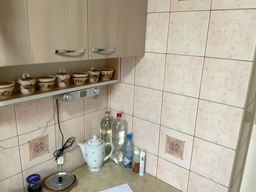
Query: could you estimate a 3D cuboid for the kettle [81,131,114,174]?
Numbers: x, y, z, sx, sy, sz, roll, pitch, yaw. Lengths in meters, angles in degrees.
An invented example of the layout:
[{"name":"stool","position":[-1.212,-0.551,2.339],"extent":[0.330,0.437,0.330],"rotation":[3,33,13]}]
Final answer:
[{"name":"kettle","position":[-0.200,0.360,1.380],"extent":[0.120,0.190,0.170],"rotation":[17,22,40]}]
